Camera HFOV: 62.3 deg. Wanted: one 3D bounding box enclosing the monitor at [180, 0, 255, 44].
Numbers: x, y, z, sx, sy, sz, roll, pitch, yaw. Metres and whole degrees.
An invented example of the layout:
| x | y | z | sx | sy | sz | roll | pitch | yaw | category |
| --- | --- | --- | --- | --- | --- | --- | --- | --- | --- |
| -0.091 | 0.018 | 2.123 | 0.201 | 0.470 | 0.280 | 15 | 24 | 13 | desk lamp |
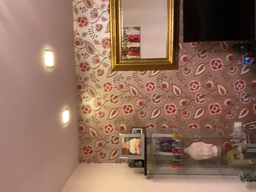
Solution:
| x | y | z | sx | sy | sz | roll | pitch | yaw | category |
| --- | --- | --- | --- | --- | --- | --- | --- | --- | --- |
| 0.910 | -1.200 | 2.120 | 0.070 | 0.730 | 1.310 | -52 | -38 | -83 | monitor |

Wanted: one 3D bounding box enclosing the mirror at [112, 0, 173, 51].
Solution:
| x | y | z | sx | sy | sz | roll | pitch | yaw | category |
| --- | --- | --- | --- | --- | --- | --- | --- | --- | --- |
| 0.160 | -1.280 | 2.380 | 0.110 | 0.670 | 1.490 | -64 | -27 | -84 | mirror |
